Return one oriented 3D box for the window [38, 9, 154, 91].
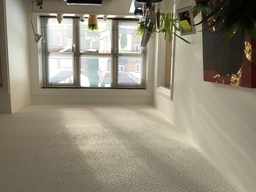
[{"bbox_3d":[-0.510,-0.730,3.530,1.820,1.280,0.150,1,-171,-2],"label":"window"}]
